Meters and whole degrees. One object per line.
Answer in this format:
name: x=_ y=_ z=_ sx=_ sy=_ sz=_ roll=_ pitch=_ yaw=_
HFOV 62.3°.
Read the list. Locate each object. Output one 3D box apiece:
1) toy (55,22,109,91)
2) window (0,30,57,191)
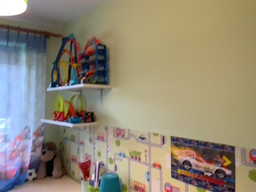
toy: x=-0.530 y=-0.350 z=2.260 sx=0.210 sy=0.560 sz=0.960 roll=1 pitch=-1 yaw=-34
window: x=-1.640 y=0.190 z=2.040 sx=1.830 sy=1.730 sz=0.260 roll=1 pitch=-1 yaw=-39
